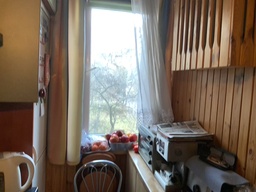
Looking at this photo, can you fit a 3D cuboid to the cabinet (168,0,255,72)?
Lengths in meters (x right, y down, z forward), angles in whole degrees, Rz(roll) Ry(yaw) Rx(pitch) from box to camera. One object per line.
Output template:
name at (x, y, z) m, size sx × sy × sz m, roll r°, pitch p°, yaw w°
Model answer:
cabinet at (0.460, -0.490, 1.190) m, size 0.190 × 0.680 × 0.660 m, roll 2°, pitch 4°, yaw -11°
